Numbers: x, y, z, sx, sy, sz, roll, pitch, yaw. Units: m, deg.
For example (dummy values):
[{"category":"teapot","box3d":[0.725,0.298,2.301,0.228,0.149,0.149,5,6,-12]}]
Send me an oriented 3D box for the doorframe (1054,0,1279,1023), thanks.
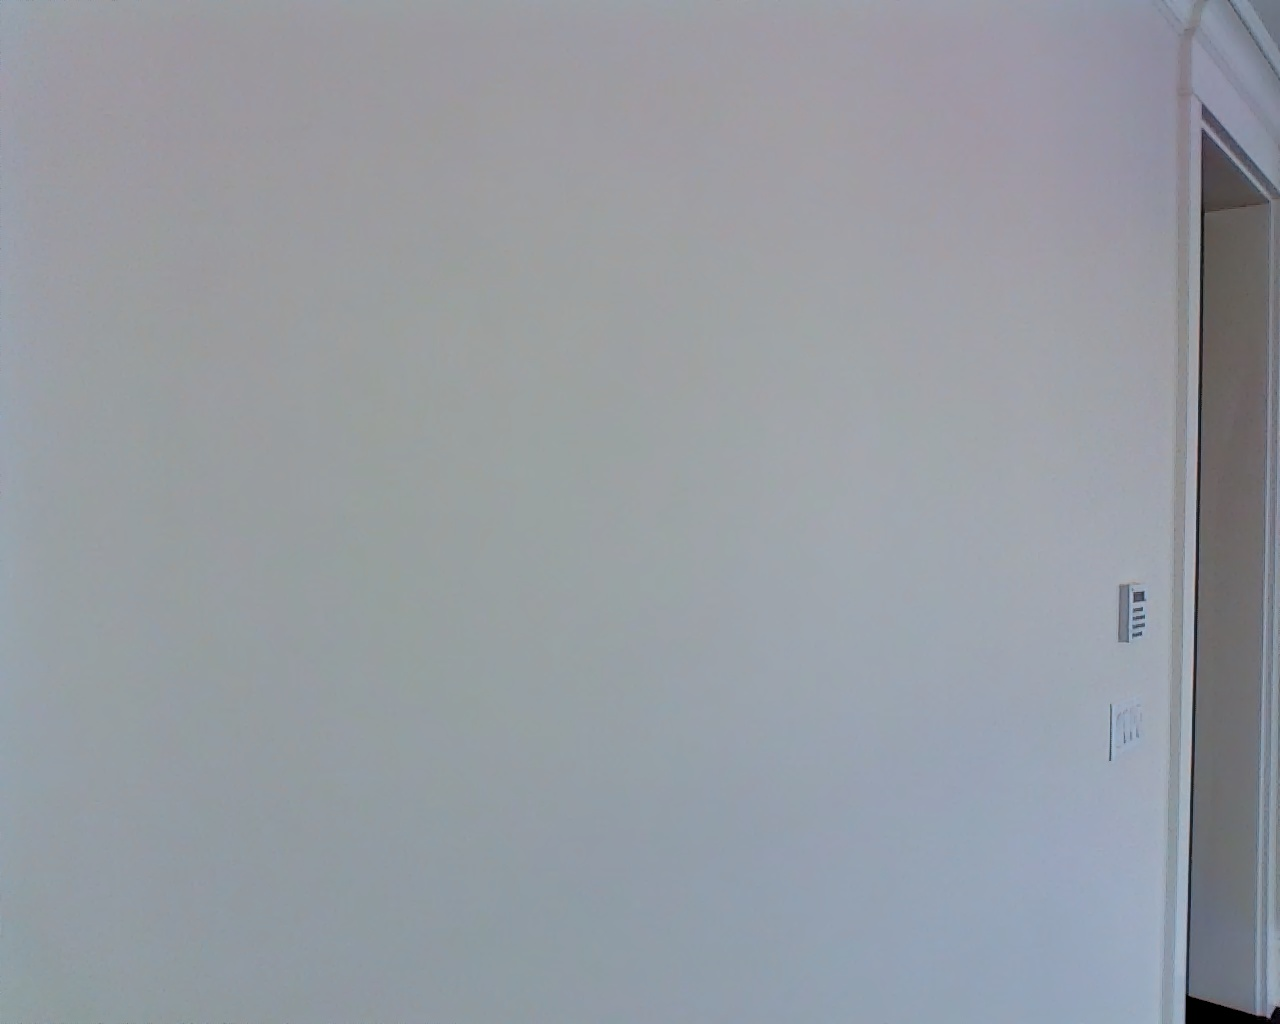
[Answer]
[{"category":"doorframe","box3d":[1.519,0.180,2.910,0.280,2.671,1.230,1,0,42]}]
